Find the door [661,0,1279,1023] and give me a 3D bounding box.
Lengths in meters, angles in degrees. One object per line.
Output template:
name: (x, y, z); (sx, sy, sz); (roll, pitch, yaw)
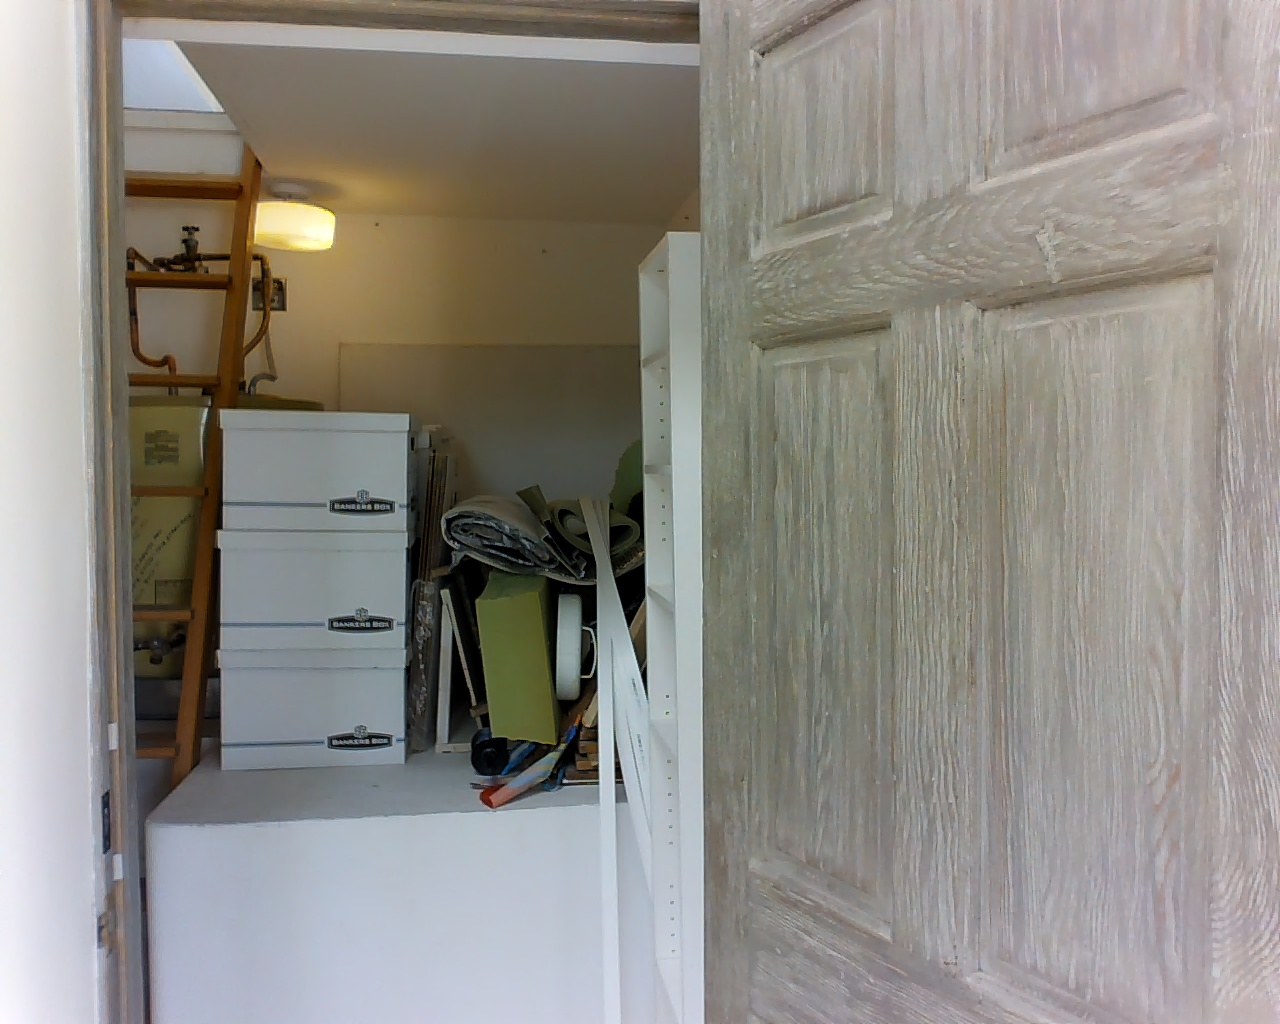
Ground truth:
door: (0.260, 0.350, 0.990); (0.050, 2.071, 0.810); (-1, 2, -31)
